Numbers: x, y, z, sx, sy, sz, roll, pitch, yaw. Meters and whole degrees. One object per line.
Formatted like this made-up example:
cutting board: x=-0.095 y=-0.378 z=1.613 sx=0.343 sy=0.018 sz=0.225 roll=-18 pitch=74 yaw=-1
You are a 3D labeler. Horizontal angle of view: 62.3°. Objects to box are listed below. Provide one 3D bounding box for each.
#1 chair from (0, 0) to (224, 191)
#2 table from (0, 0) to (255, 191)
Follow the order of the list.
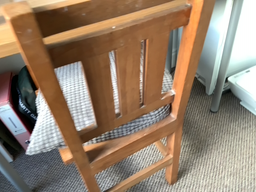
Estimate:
chair: x=-0.070 y=0.020 z=0.760 sx=0.420 sy=0.850 sz=0.480 roll=-24 pitch=44 yaw=-19
table: x=-0.120 y=-0.150 z=1.060 sx=1.200 sy=0.730 sz=0.620 roll=-21 pitch=43 yaw=-16
